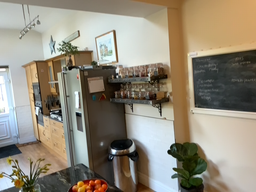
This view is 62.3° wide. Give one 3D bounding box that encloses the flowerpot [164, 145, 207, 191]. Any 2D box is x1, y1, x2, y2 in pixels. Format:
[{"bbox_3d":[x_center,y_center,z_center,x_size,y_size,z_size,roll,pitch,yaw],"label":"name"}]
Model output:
[{"bbox_3d":[0.680,0.980,2.480,0.300,0.680,0.350,-10,8,-38],"label":"flowerpot"}]
